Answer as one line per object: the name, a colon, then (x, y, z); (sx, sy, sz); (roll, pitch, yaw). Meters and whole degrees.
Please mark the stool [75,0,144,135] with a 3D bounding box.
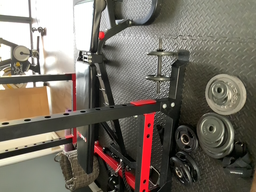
stool: (-0.150, -0.230, 1.610); (0.250, 0.420, 0.940); (21, 113, 52)
